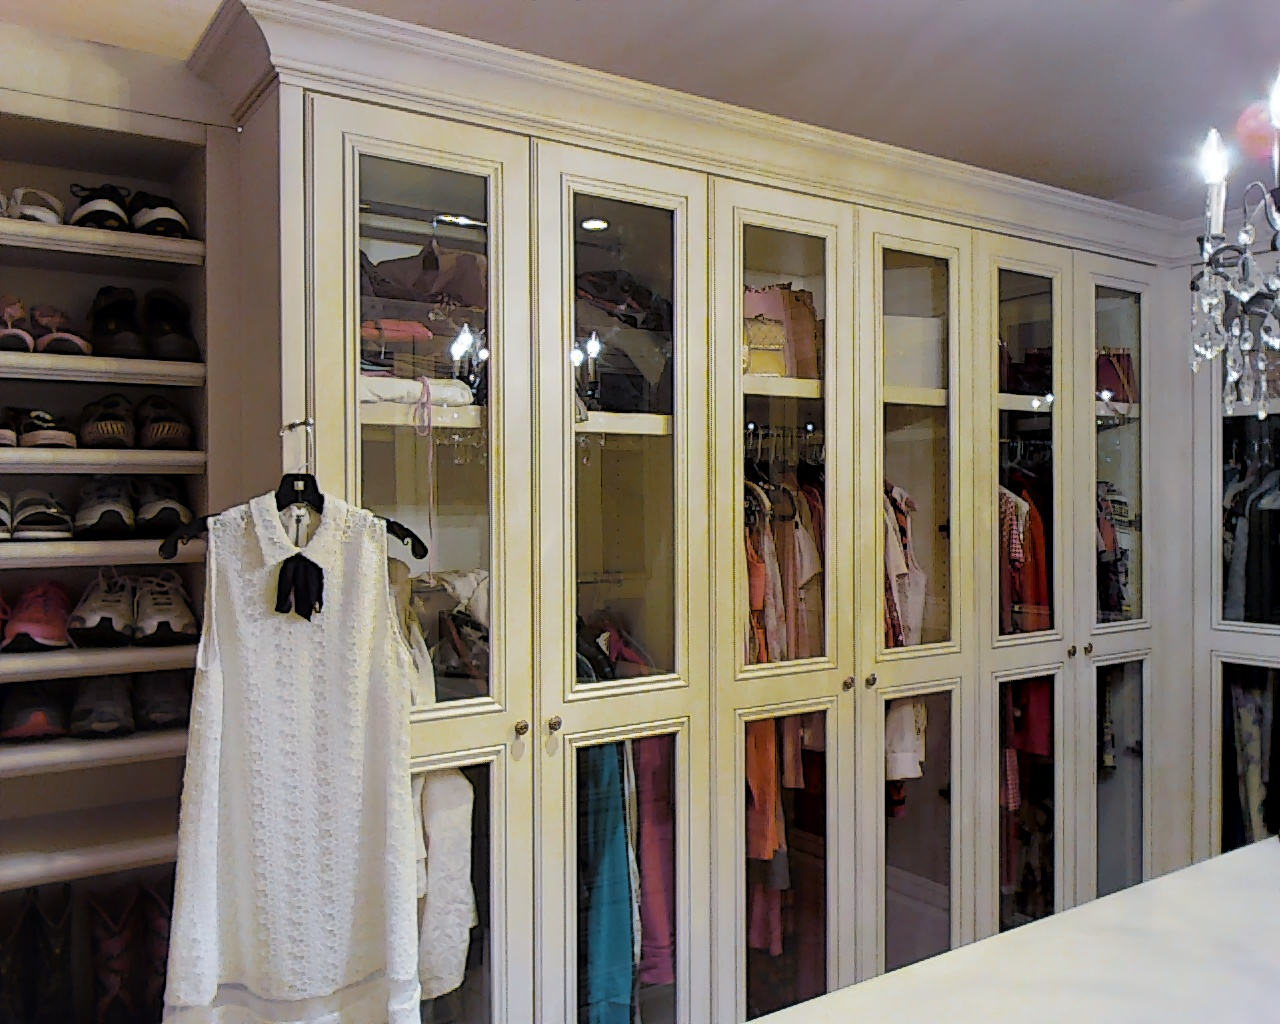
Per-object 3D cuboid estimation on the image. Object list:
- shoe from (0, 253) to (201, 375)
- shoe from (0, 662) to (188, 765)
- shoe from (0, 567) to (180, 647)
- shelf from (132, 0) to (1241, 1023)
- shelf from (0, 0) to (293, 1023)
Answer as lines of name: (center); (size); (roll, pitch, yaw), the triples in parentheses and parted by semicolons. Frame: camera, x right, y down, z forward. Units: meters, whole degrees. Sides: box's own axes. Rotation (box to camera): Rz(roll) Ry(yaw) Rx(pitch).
shoe: (-1.230, -0.350, 1.820); (0.850, 0.150, 0.310); (-1, 1, -34)
shoe: (-1.230, 0.360, 1.790); (0.850, 0.120, 0.210); (-1, 1, -35)
shoe: (-1.250, 0.170, 1.820); (0.830, 0.110, 0.270); (-1, 1, -32)
shelf: (0.360, 0.210, 2.670); (2.850, 2.700, 0.740); (-1, 1, -33)
shelf: (-1.270, 0.390, 1.750); (1.220, 2.380, 0.590); (-1, 1, -33)
